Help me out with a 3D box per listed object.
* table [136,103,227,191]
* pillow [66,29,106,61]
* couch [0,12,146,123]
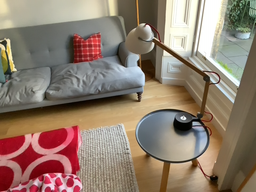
[{"bbox_3d":[0.350,0.390,1.580,0.450,0.410,0.440,-13,37,-13],"label":"table"},{"bbox_3d":[-0.510,-0.630,2.630,0.420,0.310,0.150,-10,6,-4],"label":"pillow"},{"bbox_3d":[-0.960,-0.390,2.530,2.150,0.720,1.070,-8,36,-7],"label":"couch"}]
